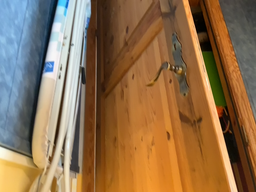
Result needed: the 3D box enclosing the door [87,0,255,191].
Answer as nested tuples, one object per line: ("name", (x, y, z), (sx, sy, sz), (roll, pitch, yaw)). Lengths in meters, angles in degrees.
("door", (0.010, -0.020, 0.960), (0.090, 2.150, 0.950), (9, 153, -26))
